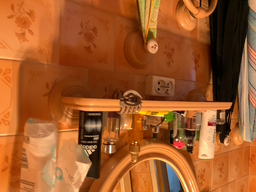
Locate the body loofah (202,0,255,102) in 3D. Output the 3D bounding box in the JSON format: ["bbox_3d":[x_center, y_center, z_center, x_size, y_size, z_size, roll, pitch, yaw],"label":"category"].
[{"bbox_3d":[0.440,-0.390,0.820,0.260,0.820,0.130,3,180,-39],"label":"body loofah"}]
